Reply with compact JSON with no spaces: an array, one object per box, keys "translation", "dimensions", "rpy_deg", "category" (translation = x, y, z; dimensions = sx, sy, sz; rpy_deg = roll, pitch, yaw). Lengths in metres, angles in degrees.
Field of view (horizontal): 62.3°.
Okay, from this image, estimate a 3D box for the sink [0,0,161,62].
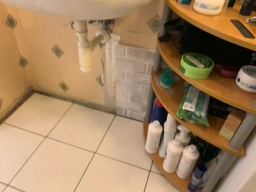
[{"translation":[-0.190,-0.350,0.720],"dimensions":[0.550,0.180,0.400],"rpy_deg":[15,42,12],"category":"sink"}]
